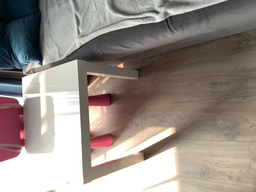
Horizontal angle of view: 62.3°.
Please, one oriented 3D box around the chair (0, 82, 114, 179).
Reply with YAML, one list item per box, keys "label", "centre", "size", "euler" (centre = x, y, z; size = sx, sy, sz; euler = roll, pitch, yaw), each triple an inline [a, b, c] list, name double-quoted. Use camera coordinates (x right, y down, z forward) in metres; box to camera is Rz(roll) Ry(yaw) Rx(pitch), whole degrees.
- label: "chair"
  centre: [-0.470, 0.170, 1.290]
  size: [0.390, 0.650, 0.420]
  euler: [-10, 84, 39]
